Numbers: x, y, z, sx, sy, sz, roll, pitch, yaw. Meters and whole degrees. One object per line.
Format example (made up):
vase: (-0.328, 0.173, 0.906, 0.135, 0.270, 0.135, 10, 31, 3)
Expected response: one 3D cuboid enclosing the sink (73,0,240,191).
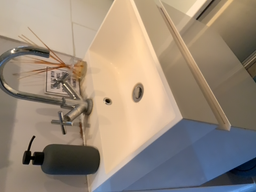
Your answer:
sink: (-0.010, -0.050, 0.640, 0.420, 0.130, 0.520, -48, 42, 37)
